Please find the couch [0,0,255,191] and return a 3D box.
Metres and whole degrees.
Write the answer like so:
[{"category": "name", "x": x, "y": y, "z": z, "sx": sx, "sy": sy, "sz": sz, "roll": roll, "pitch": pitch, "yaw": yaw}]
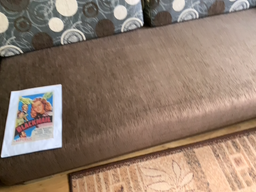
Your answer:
[{"category": "couch", "x": 0.150, "y": -0.290, "z": 1.050, "sx": 2.000, "sy": 0.850, "sz": 0.950, "roll": -13, "pitch": 54, "yaw": -8}]
